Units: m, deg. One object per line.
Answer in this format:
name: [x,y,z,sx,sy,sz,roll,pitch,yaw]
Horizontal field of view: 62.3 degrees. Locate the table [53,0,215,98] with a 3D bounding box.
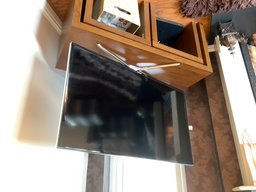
table: [0.050,-0.380,1.590,1.030,0.460,0.500,12,153,-25]

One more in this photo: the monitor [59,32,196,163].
monitor: [0.080,0.060,1.280,0.930,0.590,0.040,19,149,-35]

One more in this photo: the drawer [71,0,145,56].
drawer: [-0.150,-0.540,1.490,0.380,0.260,0.400,11,153,-23]
